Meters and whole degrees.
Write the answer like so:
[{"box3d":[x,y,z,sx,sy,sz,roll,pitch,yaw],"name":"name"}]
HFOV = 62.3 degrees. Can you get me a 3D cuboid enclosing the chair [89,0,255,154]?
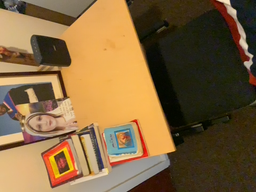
[{"box3d":[0.330,-0.130,0.910,0.530,0.710,0.490,-25,77,37],"name":"chair"}]
